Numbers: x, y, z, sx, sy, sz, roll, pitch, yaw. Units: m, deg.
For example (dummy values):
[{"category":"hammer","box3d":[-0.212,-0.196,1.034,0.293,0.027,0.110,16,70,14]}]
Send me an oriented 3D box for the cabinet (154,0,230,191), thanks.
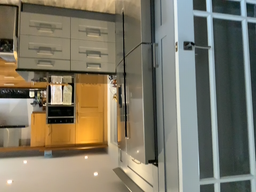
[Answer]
[{"category":"cabinet","box3d":[0.400,-0.210,1.440,0.290,2.160,0.370,1,175,-18]}]
